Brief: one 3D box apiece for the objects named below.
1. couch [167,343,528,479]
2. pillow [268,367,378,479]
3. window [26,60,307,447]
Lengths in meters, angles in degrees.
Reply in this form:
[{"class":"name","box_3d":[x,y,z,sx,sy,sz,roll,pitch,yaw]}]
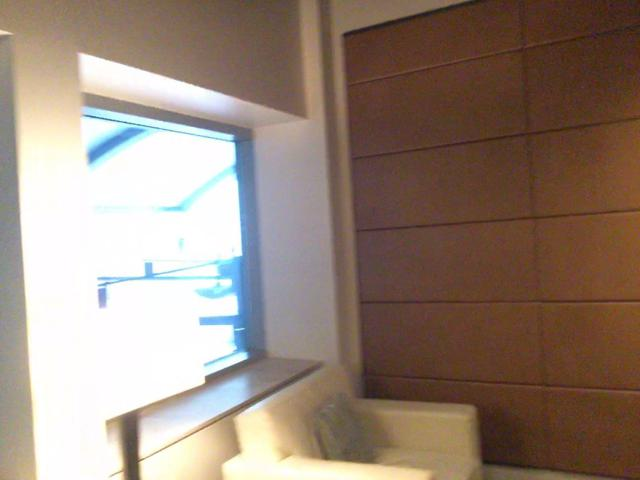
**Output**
[{"class":"couch","box_3d":[0.220,1.050,2.720,1.130,0.890,1.330,-7,-3,31]},{"class":"pillow","box_3d":[0.030,0.870,2.820,0.260,0.390,0.530,-7,-3,31]},{"class":"window","box_3d":[-0.700,0.060,2.970,0.510,1.550,1.260,-7,-3,31]}]
